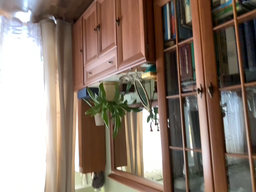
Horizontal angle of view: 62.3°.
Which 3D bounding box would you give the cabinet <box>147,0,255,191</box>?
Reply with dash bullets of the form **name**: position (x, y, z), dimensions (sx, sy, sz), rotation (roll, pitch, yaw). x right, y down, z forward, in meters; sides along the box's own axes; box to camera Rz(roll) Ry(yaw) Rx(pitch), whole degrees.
- **cabinet**: position (0.530, -0.230, 1.210), dimensions (0.420, 1.950, 0.750), rotation (2, 172, -33)
